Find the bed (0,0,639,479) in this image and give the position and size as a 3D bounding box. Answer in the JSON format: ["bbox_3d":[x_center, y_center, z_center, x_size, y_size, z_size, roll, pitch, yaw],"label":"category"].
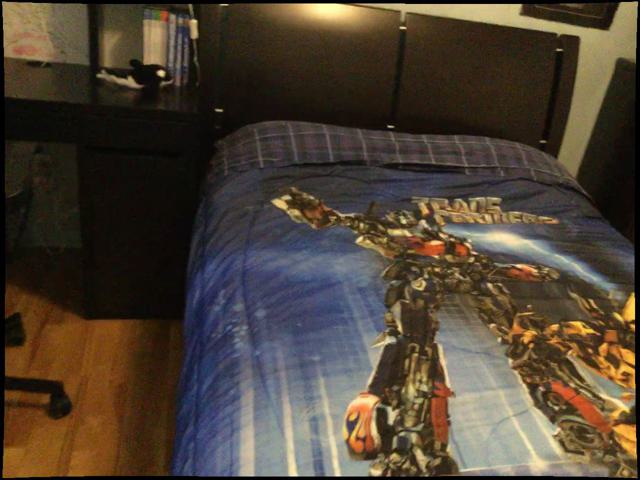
[{"bbox_3d":[0.400,0.070,1.470,1.548,0.881,2.160,3,29,-11],"label":"bed"}]

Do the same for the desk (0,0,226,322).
[{"bbox_3d":[-0.899,-0.480,1.810,1.129,1.371,0.600,1,29,-13],"label":"desk"}]
